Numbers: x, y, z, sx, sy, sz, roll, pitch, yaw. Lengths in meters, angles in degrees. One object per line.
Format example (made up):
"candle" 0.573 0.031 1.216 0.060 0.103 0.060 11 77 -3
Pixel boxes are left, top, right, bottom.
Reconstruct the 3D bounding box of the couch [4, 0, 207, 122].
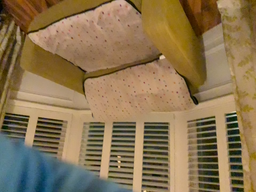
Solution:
"couch" -0.080 -0.340 1.740 1.150 0.850 1.030 -7 159 30
